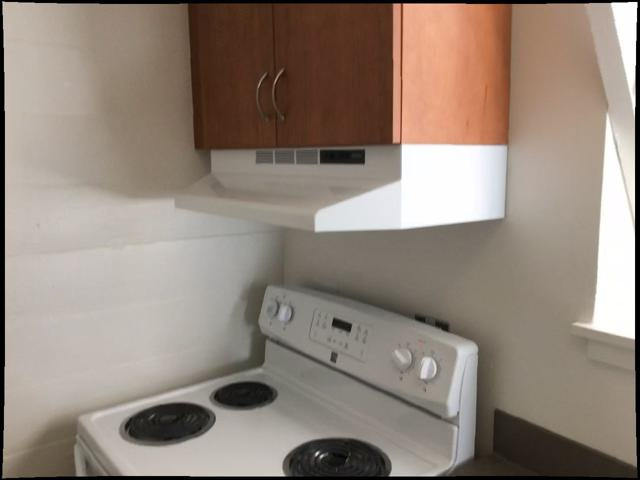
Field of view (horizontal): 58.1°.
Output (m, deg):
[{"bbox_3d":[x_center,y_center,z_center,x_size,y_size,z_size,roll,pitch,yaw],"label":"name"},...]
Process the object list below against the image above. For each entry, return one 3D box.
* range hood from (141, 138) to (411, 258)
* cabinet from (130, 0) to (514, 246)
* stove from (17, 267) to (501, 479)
[{"bbox_3d":[-0.170,-0.140,1.370,0.190,0.190,0.869,-8,14,-36],"label":"range hood"},{"bbox_3d":[-0.070,-0.371,1.410,0.439,0.581,0.929,-8,14,-37],"label":"cabinet"},{"bbox_3d":[-0.199,0.802,1.490,0.789,1.213,0.919,-8,14,-37],"label":"stove"}]
